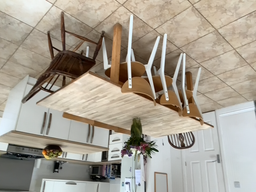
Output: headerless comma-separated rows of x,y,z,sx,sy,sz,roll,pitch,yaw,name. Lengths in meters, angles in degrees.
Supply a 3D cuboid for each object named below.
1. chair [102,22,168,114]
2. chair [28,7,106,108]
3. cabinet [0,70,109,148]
0.080,-0.270,2.310,0.440,0.770,0.510,22,150,-39,chair
-0.600,-0.360,2.190,0.510,0.770,0.470,22,150,-38,chair
-1.150,0.320,3.680,0.460,0.850,1.660,-20,148,41,cabinet
